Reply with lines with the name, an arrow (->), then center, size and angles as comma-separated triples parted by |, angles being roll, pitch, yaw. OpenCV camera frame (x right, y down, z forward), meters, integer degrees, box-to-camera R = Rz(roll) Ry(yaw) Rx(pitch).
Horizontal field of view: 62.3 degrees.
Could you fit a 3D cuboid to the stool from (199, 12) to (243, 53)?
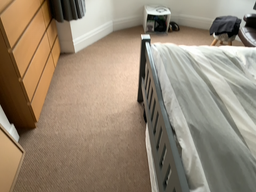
stool -> 1.190, -0.830, 2.760 | 0.330, 0.410, 0.330 | 0, 41, -2
